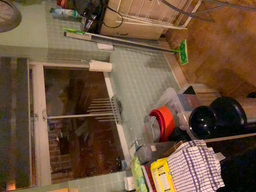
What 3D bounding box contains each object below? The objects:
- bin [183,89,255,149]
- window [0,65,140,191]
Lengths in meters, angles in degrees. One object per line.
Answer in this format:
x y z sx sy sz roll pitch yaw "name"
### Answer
0.700 0.130 1.350 0.240 0.590 0.260 122 139 -50 "bin"
-0.680 0.240 1.730 0.070 1.370 1.180 123 138 -50 "window"
